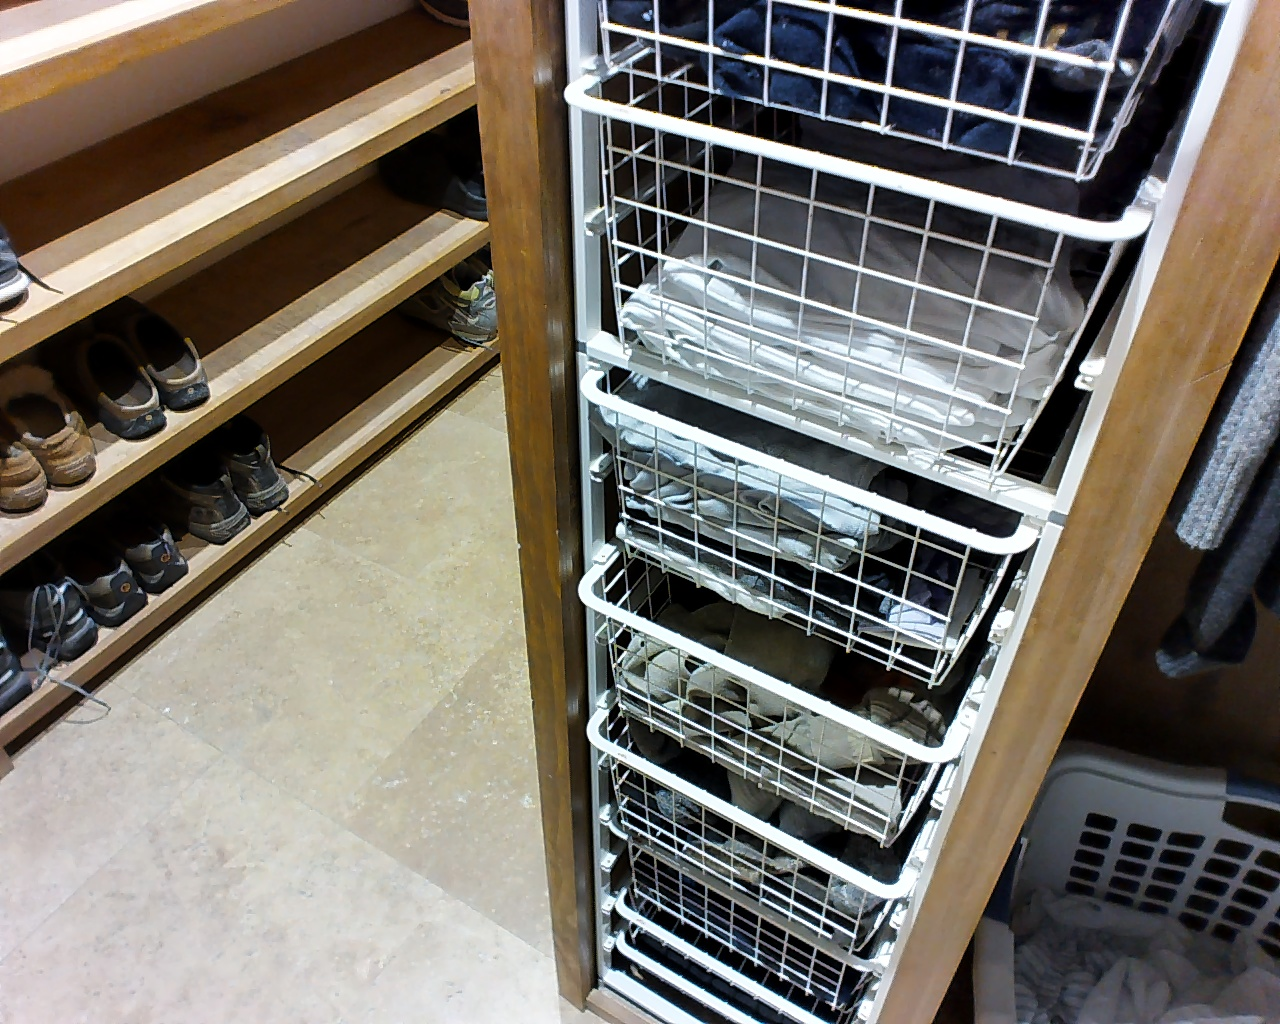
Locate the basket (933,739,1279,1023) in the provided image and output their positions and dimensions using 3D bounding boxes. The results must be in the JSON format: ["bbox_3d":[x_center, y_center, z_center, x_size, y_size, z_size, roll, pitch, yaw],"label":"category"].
[{"bbox_3d":[0.720,0.650,1.250,0.690,0.280,0.480,17,45,18],"label":"basket"}]

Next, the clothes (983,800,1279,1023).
[{"bbox_3d":[0.720,0.650,1.340,0.500,0.150,0.370,21,46,22],"label":"clothes"}]
